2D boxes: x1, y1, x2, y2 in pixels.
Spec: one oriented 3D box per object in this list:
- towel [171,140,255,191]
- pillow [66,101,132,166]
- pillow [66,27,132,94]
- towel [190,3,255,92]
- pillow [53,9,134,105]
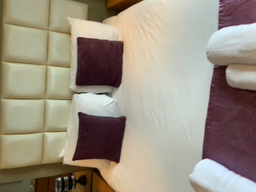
[{"bbox_3d":[0.390,0.420,0.880,0.430,0.140,0.340,16,102,58],"label":"towel"},{"bbox_3d":[-0.240,0.320,1.800,0.200,0.370,0.400,16,77,56],"label":"pillow"},{"bbox_3d":[-0.240,-0.290,1.800,0.150,0.400,0.400,21,84,57],"label":"pillow"},{"bbox_3d":[0.460,-0.180,0.820,0.390,0.130,0.300,24,108,57],"label":"towel"},{"bbox_3d":[-0.300,-0.330,1.900,0.250,0.430,0.680,13,79,57],"label":"pillow"}]
